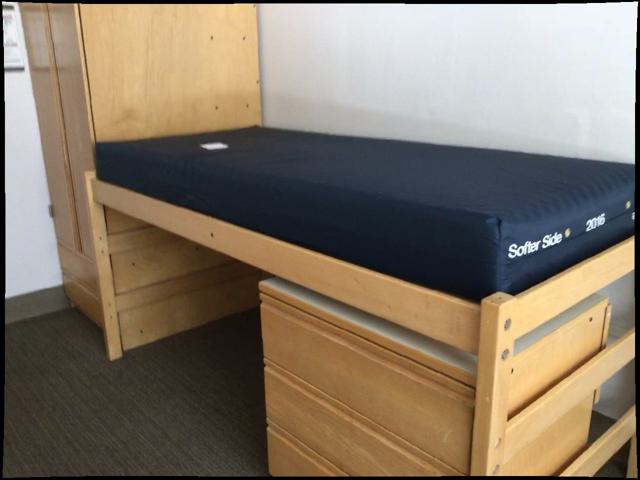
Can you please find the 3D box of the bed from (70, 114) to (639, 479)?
[{"bbox_3d":[0.030,0.160,2.230,1.059,1.061,2.139,-16,23,-39],"label":"bed"}]
